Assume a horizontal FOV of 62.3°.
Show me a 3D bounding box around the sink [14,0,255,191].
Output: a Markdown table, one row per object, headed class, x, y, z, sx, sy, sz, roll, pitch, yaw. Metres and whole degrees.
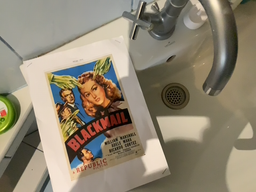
| class | x | y | z | sx | sy | sz | roll | pitch | yaw |
| --- | --- | --- | --- | --- | --- | --- | --- | --- | --- |
| sink | 0.140 | 0.010 | 0.510 | 0.610 | 0.190 | 0.440 | -25 | 76 | -8 |
